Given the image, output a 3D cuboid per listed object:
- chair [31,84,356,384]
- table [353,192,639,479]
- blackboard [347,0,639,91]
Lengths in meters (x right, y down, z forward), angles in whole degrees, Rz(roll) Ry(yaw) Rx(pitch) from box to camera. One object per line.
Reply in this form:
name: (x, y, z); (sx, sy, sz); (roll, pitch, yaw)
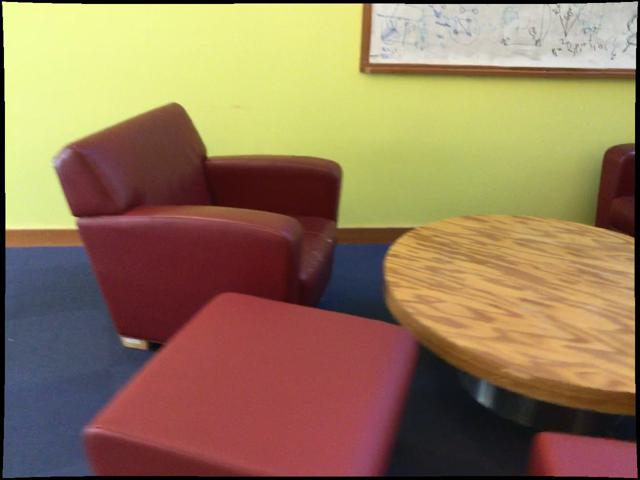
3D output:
chair: (-0.380, -0.090, 2.290); (0.909, 0.831, 0.830); (5, 28, 11)
table: (0.819, 0.280, 2.090); (1.219, 0.440, 1.180); (-3, 27, -5)
blackboard: (1.029, -1.321, 2.640); (1.798, 1.191, 0.110); (-3, 27, -5)
